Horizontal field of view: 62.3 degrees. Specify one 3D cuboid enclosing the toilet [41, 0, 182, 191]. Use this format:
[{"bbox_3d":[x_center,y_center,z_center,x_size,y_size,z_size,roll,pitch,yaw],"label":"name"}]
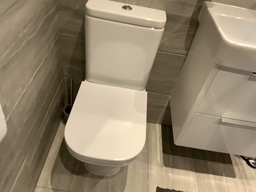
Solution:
[{"bbox_3d":[-0.080,0.050,1.040,0.370,0.800,0.600,9,43,-3],"label":"toilet"}]
